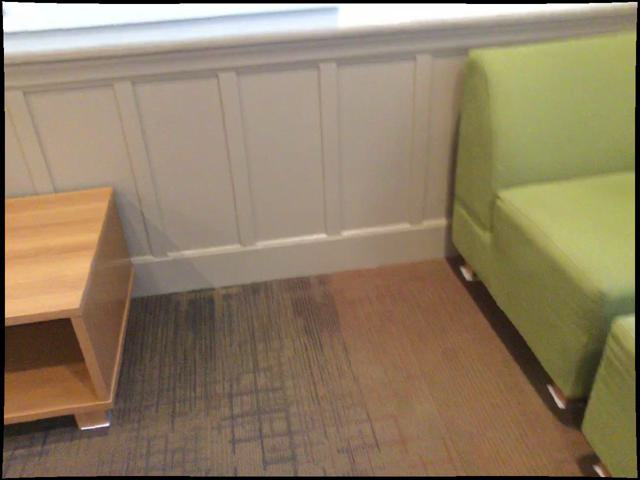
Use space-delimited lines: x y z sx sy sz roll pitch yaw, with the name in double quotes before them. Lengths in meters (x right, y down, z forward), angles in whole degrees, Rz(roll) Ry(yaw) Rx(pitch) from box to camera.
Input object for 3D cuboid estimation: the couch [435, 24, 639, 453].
"couch" 0.928 -0.100 1.670 0.858 0.791 0.921 -8 32 -7
